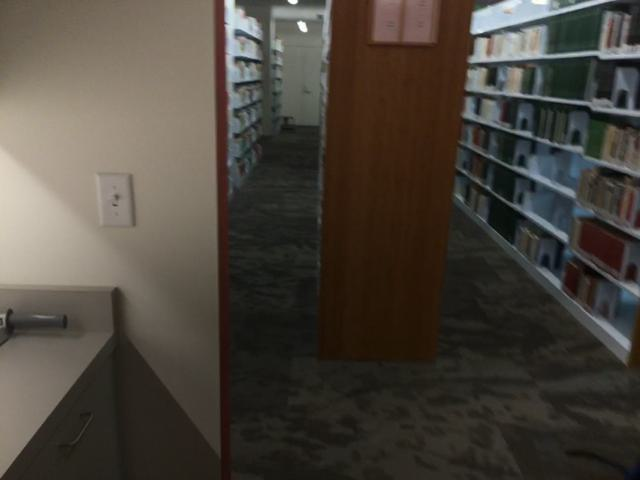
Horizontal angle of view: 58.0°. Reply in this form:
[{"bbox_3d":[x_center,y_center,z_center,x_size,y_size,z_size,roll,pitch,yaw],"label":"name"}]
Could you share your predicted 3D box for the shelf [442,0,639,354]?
[{"bbox_3d":[1.680,-1.040,4.440,0.520,2.060,4.100,1,17,0],"label":"shelf"}]
